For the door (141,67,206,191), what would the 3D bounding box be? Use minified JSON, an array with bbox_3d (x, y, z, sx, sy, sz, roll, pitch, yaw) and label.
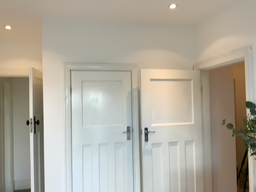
[{"bbox_3d":[0.540,0.710,2.440,0.780,2.050,0.050,0,-1,-17],"label":"door"}]
